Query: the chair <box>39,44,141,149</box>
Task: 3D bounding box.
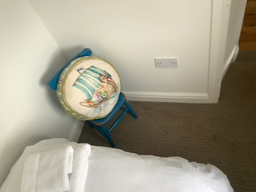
[{"bbox_3d":[-0.240,0.020,1.580,0.430,0.630,0.350,28,67,32],"label":"chair"}]
